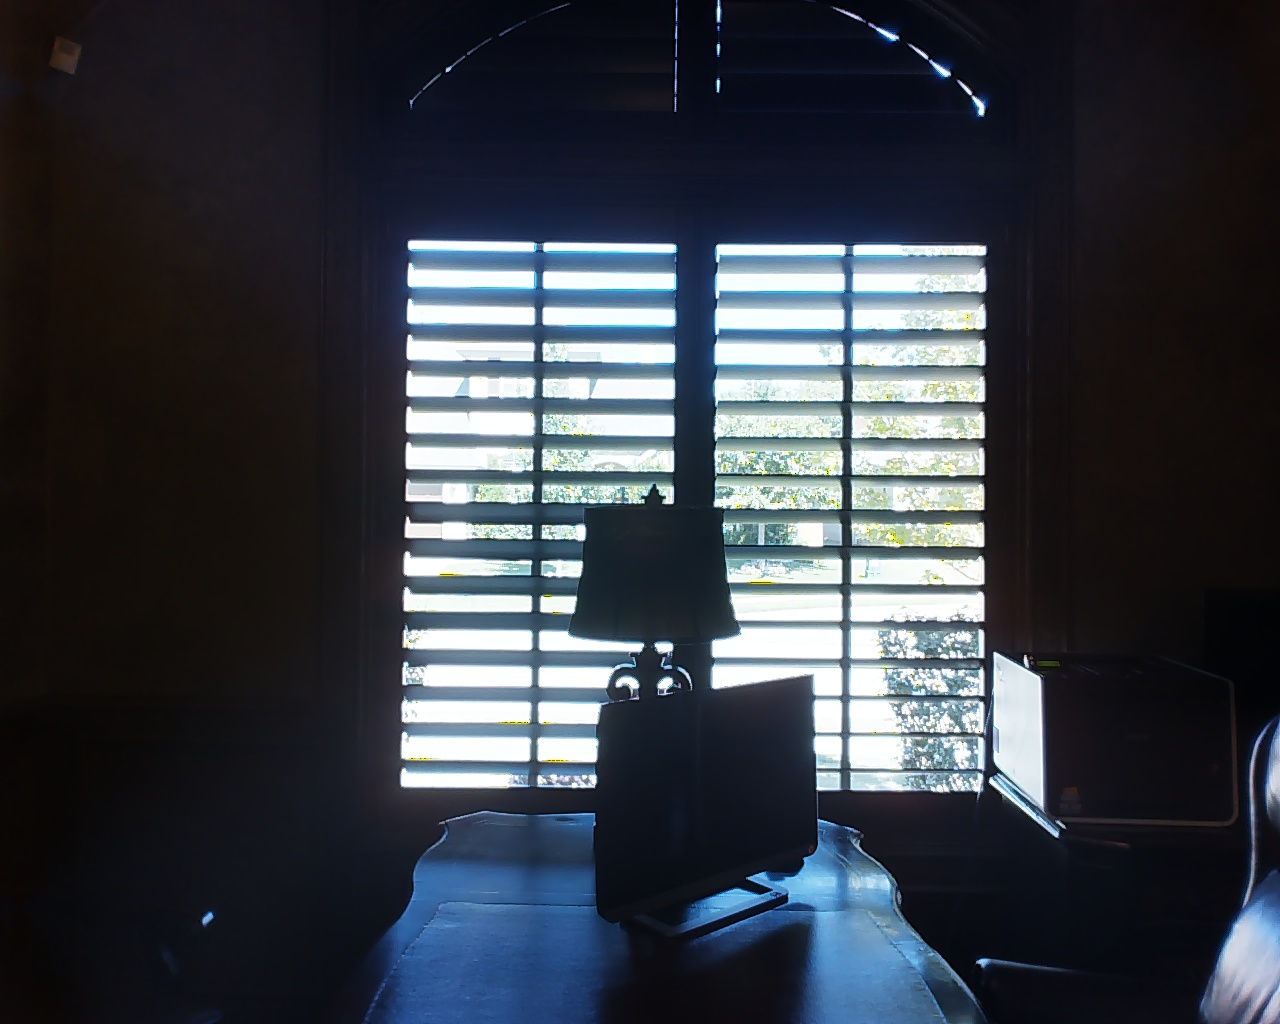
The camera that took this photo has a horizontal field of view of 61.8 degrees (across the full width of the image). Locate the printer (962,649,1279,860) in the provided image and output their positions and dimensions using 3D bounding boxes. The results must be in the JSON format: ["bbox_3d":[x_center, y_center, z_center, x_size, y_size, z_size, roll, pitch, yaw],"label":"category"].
[{"bbox_3d":[1.150,0.560,2.600,0.540,0.370,0.630,1,-1,0],"label":"printer"}]

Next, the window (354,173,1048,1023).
[{"bbox_3d":[0.170,0.300,2.970,1.850,2.420,0.140,1,-1,0],"label":"window"}]
